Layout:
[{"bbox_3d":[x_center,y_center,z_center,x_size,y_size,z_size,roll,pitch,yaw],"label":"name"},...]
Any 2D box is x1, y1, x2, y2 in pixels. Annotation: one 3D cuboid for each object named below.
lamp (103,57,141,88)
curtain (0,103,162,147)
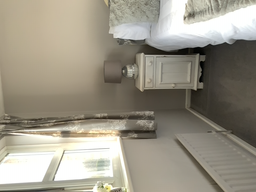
[{"bbox_3d":[-0.080,-0.280,2.430,0.300,0.400,0.310,-118,28,-74],"label":"lamp"},{"bbox_3d":[-0.440,0.250,1.970,0.340,1.440,0.250,-114,24,-72],"label":"curtain"}]
